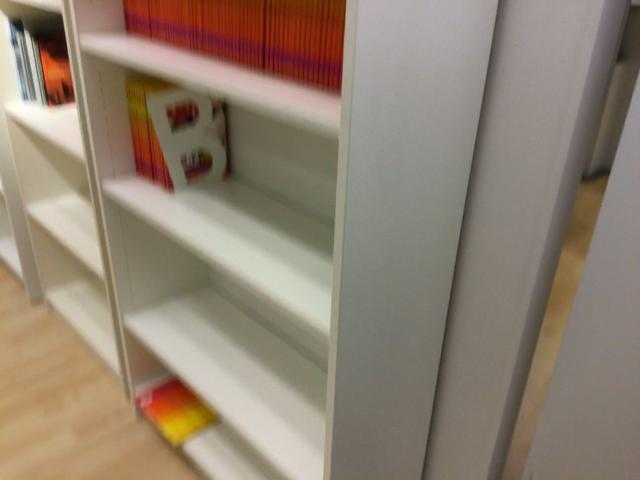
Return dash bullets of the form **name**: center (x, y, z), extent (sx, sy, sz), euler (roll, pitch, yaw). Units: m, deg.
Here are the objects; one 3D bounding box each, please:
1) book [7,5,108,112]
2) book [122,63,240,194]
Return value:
- **book**: center (-0.770, -0.540, 1.710), extent (0.190, 0.260, 0.130), euler (-24, 38, -37)
- **book**: center (-0.310, -0.260, 1.320), extent (0.190, 0.230, 0.150), euler (-24, 38, -37)
